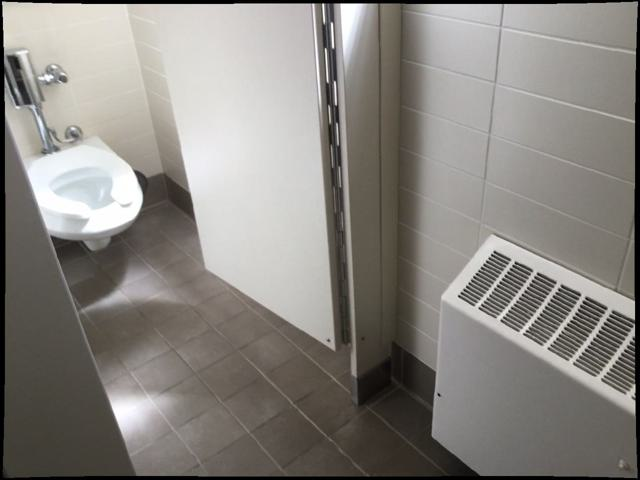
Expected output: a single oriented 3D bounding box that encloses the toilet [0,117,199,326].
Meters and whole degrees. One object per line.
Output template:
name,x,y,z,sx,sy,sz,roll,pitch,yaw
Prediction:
toilet,-0.869,-0.110,2.210,0.460,0.430,0.690,-26,40,-30
